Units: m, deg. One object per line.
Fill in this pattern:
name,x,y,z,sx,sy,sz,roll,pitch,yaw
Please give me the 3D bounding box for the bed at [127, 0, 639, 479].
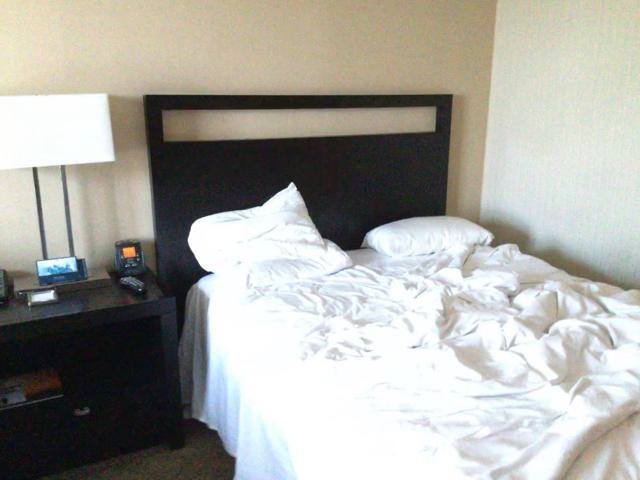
bed,0.450,0.190,2.120,1.800,1.510,2.200,-6,13,-26
